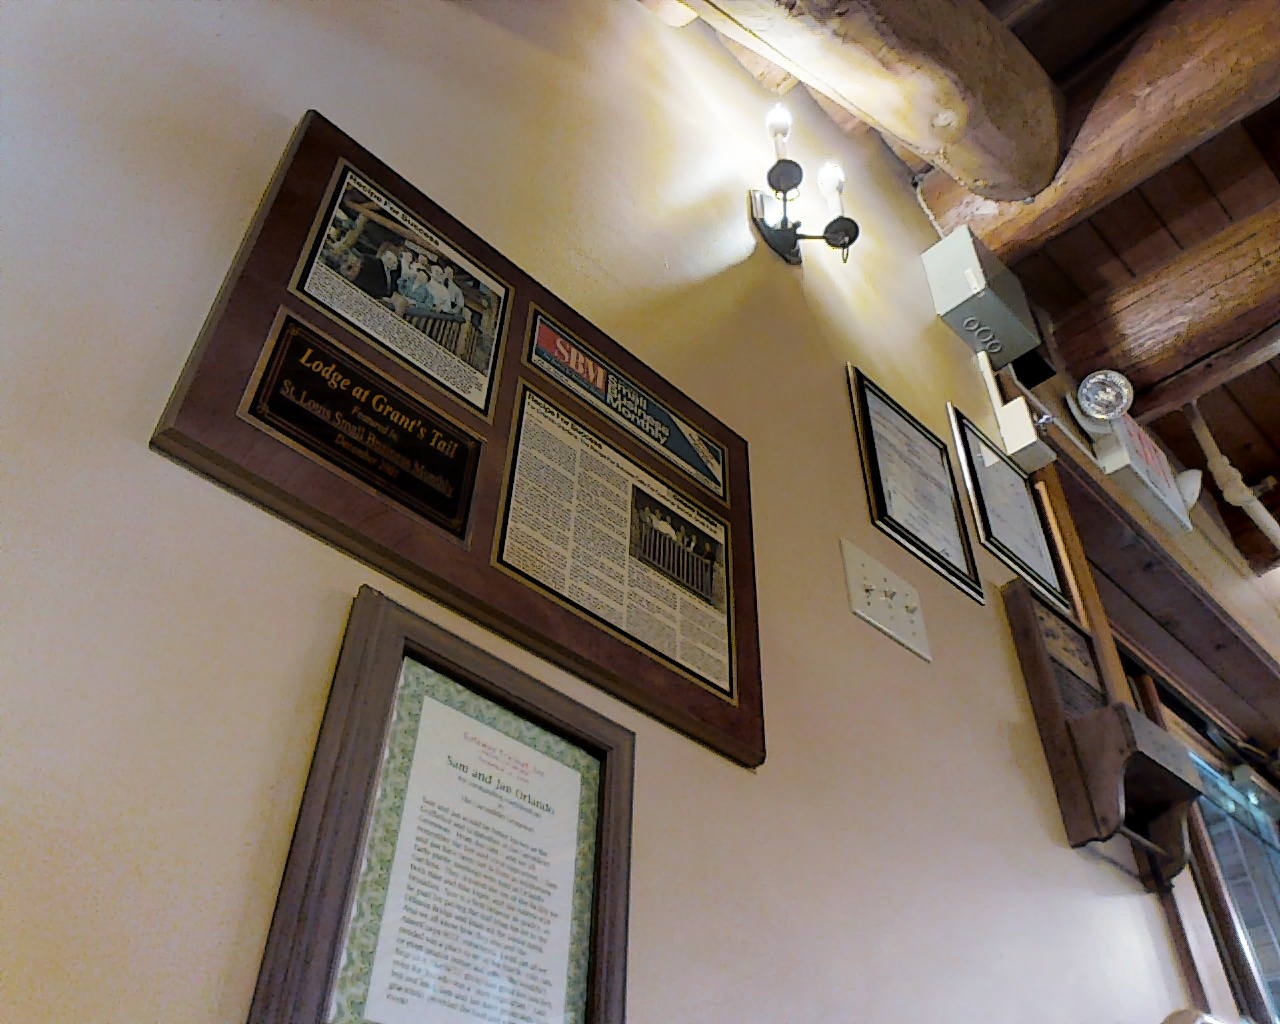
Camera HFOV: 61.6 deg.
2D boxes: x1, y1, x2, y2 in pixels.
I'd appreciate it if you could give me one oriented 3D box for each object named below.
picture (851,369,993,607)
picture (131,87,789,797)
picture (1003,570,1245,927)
[{"bbox_3d":[0.420,-0.040,1.610,0.250,0.310,0.020,34,-51,-31],"label":"picture"},{"bbox_3d":[-0.090,-0.060,0.980,0.610,0.460,0.030,34,-51,-31],"label":"picture"},{"bbox_3d":[0.700,0.340,1.580,0.260,0.440,0.110,34,-51,-31],"label":"picture"}]
